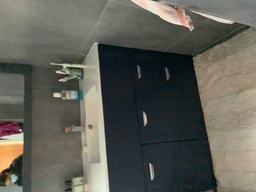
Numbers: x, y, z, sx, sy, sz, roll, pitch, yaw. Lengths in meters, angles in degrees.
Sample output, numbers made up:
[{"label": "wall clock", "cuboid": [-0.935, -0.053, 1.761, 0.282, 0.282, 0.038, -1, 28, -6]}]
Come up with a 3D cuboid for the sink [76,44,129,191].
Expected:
[{"label": "sink", "cuboid": [-0.210, 0.210, 1.490, 0.470, 0.150, 1.010, -32, 61, 60]}]
